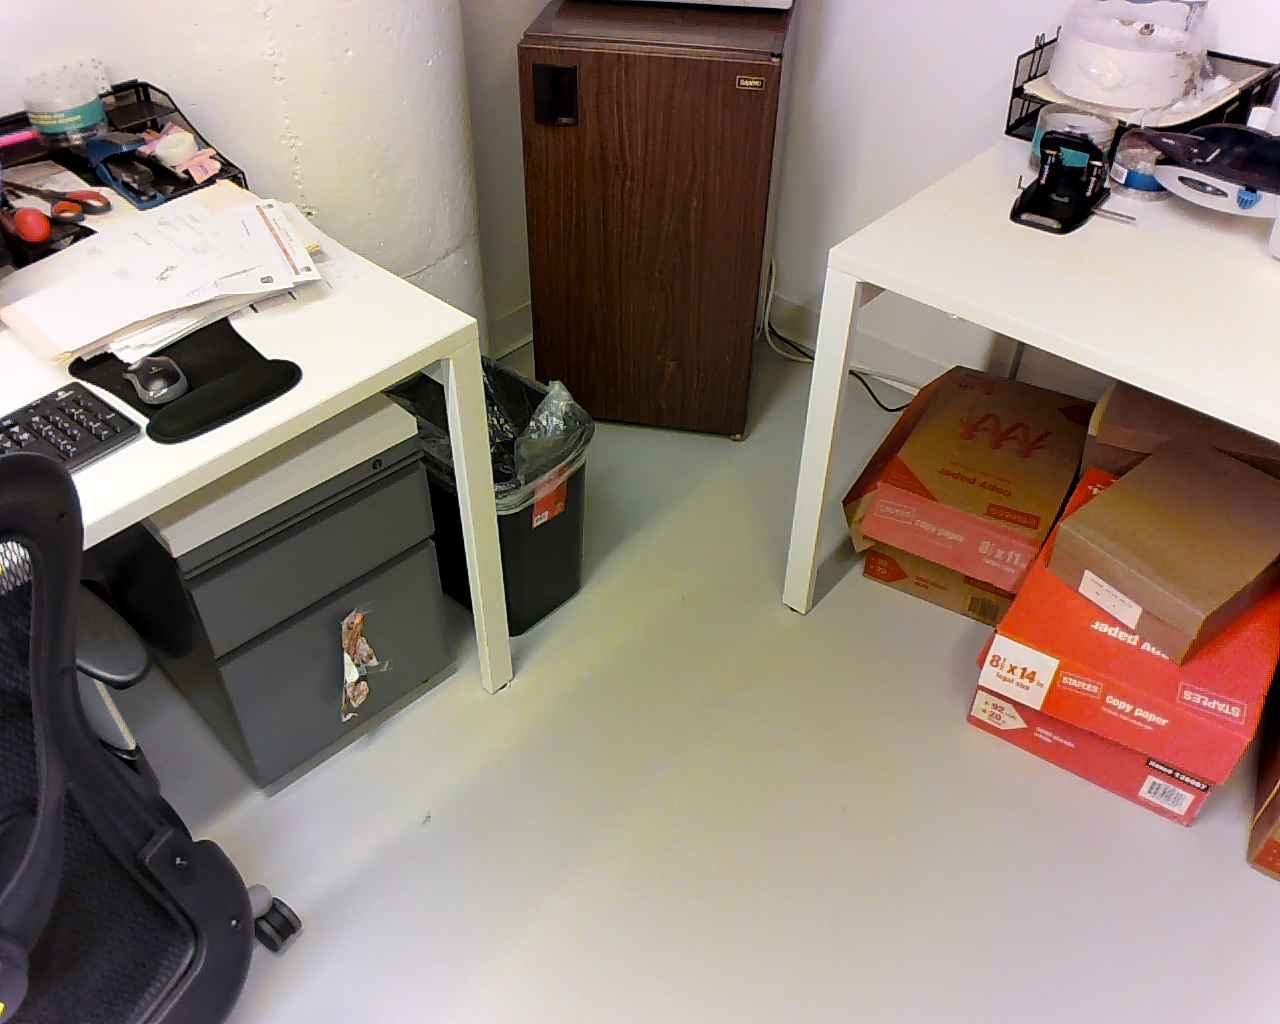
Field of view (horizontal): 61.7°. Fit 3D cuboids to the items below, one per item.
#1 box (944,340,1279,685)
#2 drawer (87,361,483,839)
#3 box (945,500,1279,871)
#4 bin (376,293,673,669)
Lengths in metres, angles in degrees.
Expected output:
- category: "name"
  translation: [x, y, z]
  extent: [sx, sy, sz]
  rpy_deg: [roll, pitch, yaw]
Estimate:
- category: "box"
  translation: [0.850, -0.030, 1.750]
  extent: [0.450, 0.160, 0.490]
  rpy_deg: [-31, 50, -30]
- category: "drawer"
  translation: [-0.490, 0.140, 1.620]
  extent: [0.210, 0.580, 0.410]
  rpy_deg: [32, 51, 30]
- category: "box"
  translation: [0.800, 0.260, 1.740]
  extent: [0.420, 0.250, 0.380]
  rpy_deg: [29, 49, 29]
- category: "bin"
  translation: [-0.190, -0.060, 1.920]
  extent: [0.360, 0.470, 0.330]
  rpy_deg: [31, 50, 30]
